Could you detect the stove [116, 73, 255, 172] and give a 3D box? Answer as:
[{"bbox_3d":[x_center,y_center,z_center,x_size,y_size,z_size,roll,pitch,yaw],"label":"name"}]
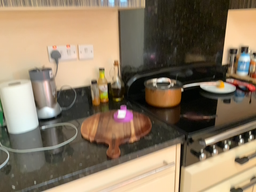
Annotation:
[{"bbox_3d":[0.500,0.060,1.370,0.950,0.170,0.690,-12,22,-25],"label":"stove"}]
